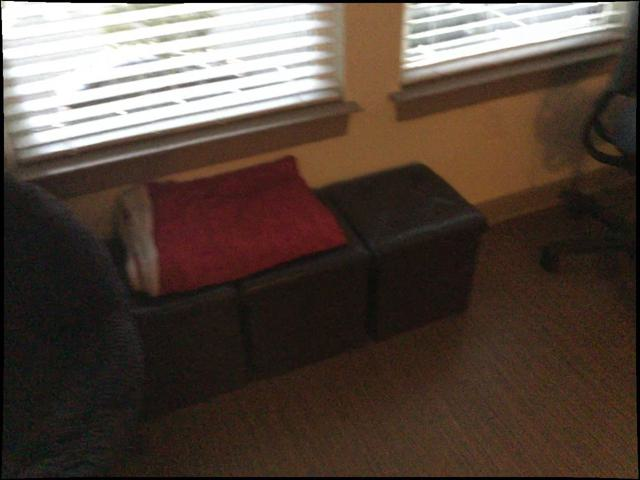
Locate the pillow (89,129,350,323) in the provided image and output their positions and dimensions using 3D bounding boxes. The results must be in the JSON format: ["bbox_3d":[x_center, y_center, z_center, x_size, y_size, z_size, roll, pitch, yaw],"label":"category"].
[{"bbox_3d":[-0.269,-0.060,1.540,0.599,0.180,0.350,-18,41,-12],"label":"pillow"}]
